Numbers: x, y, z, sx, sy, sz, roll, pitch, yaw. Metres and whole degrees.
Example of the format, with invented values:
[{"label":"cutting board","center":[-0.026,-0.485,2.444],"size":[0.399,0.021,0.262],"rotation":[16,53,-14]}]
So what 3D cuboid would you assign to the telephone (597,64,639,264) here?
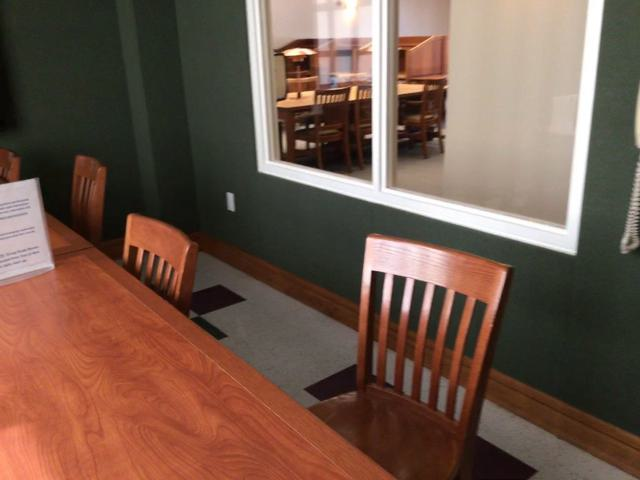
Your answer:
[{"label":"telephone","center":[0.900,-0.210,1.610],"size":[0.120,0.530,0.130],"rotation":[-16,24,-36]}]

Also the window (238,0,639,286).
[{"label":"window","center":[0.290,-0.630,2.480],"size":[0.300,1.110,1.860],"rotation":[-16,24,-36]}]
